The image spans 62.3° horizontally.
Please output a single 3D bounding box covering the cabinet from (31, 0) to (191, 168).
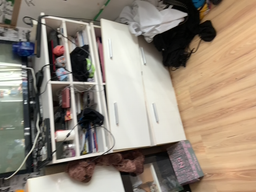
[{"bbox_3d":[-0.170,-0.080,1.820,0.550,1.070,1.120,-31,65,51],"label":"cabinet"}]

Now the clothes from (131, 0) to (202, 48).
[{"bbox_3d":[0.310,-0.600,1.750,0.370,0.410,0.260,-11,81,55],"label":"clothes"}]

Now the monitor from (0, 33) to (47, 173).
[{"bbox_3d":[-0.940,0.010,1.430,0.060,0.660,1.000,-31,65,51],"label":"monitor"}]
